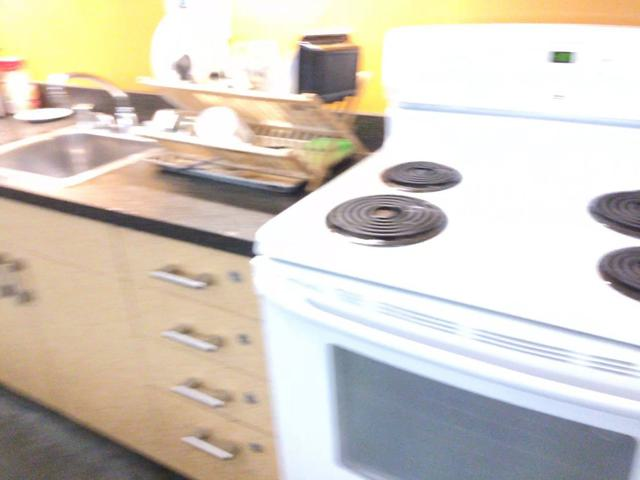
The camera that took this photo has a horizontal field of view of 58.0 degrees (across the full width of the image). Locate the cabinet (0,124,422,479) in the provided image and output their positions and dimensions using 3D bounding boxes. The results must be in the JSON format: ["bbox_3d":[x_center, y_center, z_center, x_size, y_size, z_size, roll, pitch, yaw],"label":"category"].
[{"bbox_3d":[-0.470,0.160,1.760,1.310,0.760,0.710,14,26,29],"label":"cabinet"}]
